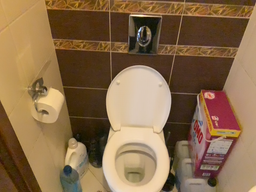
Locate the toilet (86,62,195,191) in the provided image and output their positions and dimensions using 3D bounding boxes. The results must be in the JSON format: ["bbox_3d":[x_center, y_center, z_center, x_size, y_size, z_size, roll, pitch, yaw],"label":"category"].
[{"bbox_3d":[0.040,0.310,1.200,0.380,0.810,0.530,4,39,1],"label":"toilet"}]
